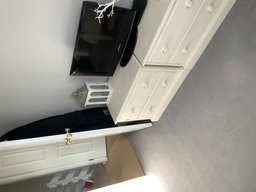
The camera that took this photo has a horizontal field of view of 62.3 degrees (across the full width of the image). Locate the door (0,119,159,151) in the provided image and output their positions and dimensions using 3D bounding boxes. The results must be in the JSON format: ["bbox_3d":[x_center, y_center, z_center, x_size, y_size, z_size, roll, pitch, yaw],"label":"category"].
[{"bbox_3d":[-0.620,0.490,2.660,0.920,1.850,0.080,-25,71,56],"label":"door"}]

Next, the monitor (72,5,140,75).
[{"bbox_3d":[-0.210,-0.440,1.850,0.050,0.440,0.630,61,140,36],"label":"monitor"}]
